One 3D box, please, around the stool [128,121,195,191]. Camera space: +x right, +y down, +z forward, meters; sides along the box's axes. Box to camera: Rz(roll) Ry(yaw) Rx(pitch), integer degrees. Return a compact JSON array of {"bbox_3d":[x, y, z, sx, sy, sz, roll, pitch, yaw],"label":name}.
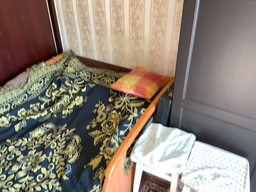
[{"bbox_3d":[0.210,0.470,1.400,0.310,0.440,0.300,17,37,25],"label":"stool"}]
